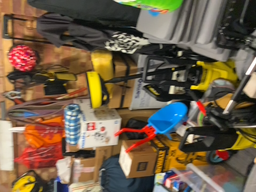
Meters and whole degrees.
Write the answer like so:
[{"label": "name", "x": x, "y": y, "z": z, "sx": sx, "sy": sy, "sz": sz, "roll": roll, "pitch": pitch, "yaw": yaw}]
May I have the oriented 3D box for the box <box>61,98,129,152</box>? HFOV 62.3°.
[{"label": "box", "x": -0.300, "y": 0.220, "z": 1.830, "sx": 0.390, "sy": 0.470, "sz": 0.290, "roll": -140, "pitch": 54, "yaw": -58}]
